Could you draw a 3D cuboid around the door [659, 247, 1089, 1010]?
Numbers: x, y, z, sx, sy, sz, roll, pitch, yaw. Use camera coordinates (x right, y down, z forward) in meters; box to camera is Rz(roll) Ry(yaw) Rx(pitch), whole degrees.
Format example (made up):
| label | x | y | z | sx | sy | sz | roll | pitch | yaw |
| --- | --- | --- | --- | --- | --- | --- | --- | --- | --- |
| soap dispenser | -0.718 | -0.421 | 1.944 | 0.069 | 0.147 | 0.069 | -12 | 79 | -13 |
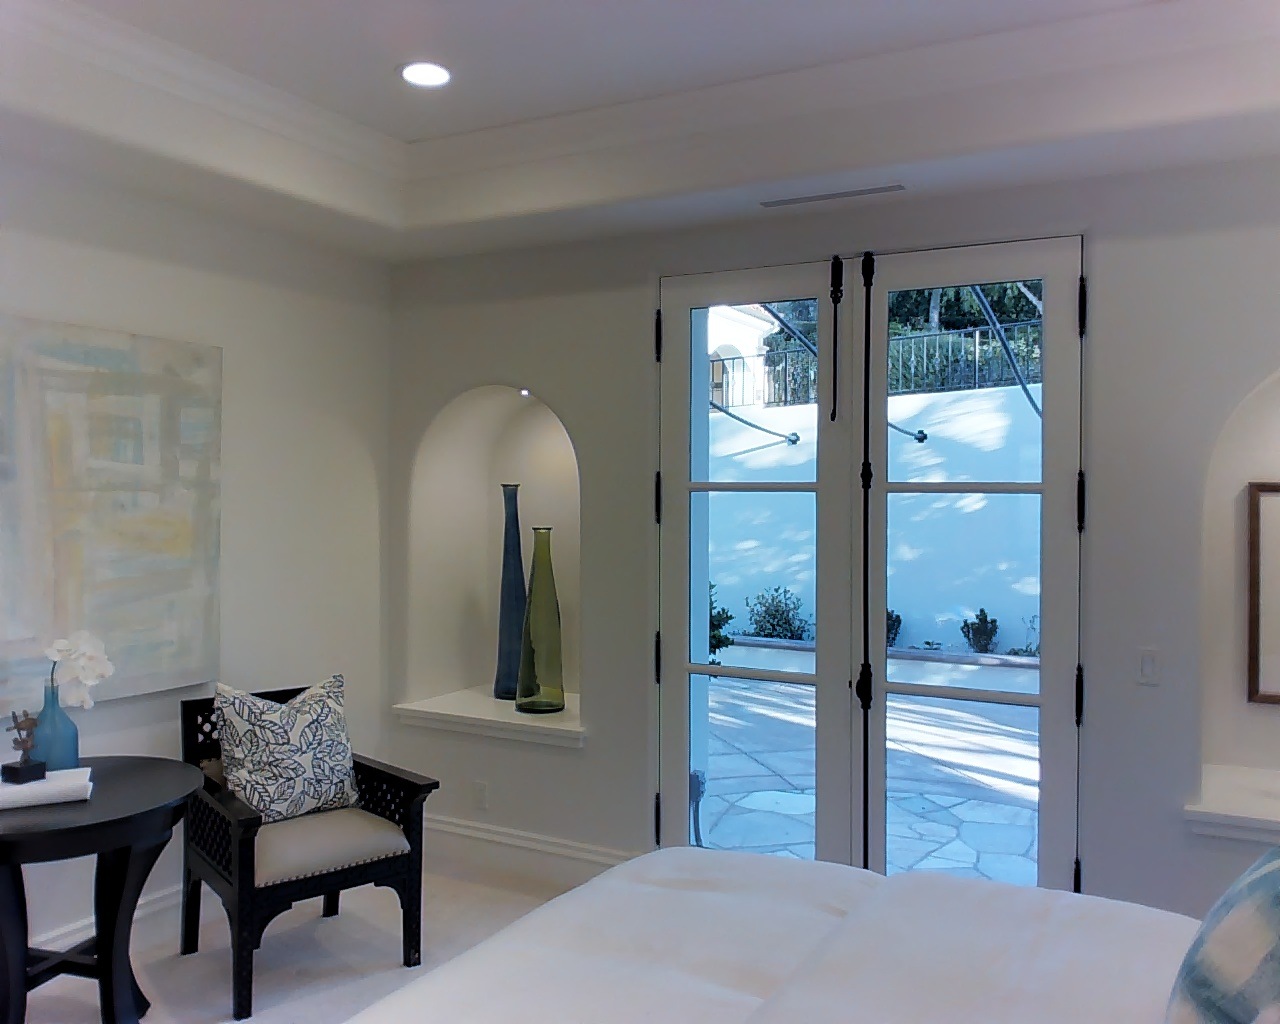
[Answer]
| label | x | y | z | sx | sy | sz | roll | pitch | yaw |
| --- | --- | --- | --- | --- | --- | --- | --- | --- | --- |
| door | 0.770 | 0.370 | 3.830 | 1.520 | 2.431 | 0.110 | 0 | 1 | 29 |
